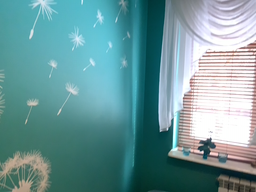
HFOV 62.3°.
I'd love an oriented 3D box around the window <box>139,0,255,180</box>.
[{"bbox_3d":[1.100,-0.260,1.690,2.020,1.840,0.270,4,7,26],"label":"window"}]
